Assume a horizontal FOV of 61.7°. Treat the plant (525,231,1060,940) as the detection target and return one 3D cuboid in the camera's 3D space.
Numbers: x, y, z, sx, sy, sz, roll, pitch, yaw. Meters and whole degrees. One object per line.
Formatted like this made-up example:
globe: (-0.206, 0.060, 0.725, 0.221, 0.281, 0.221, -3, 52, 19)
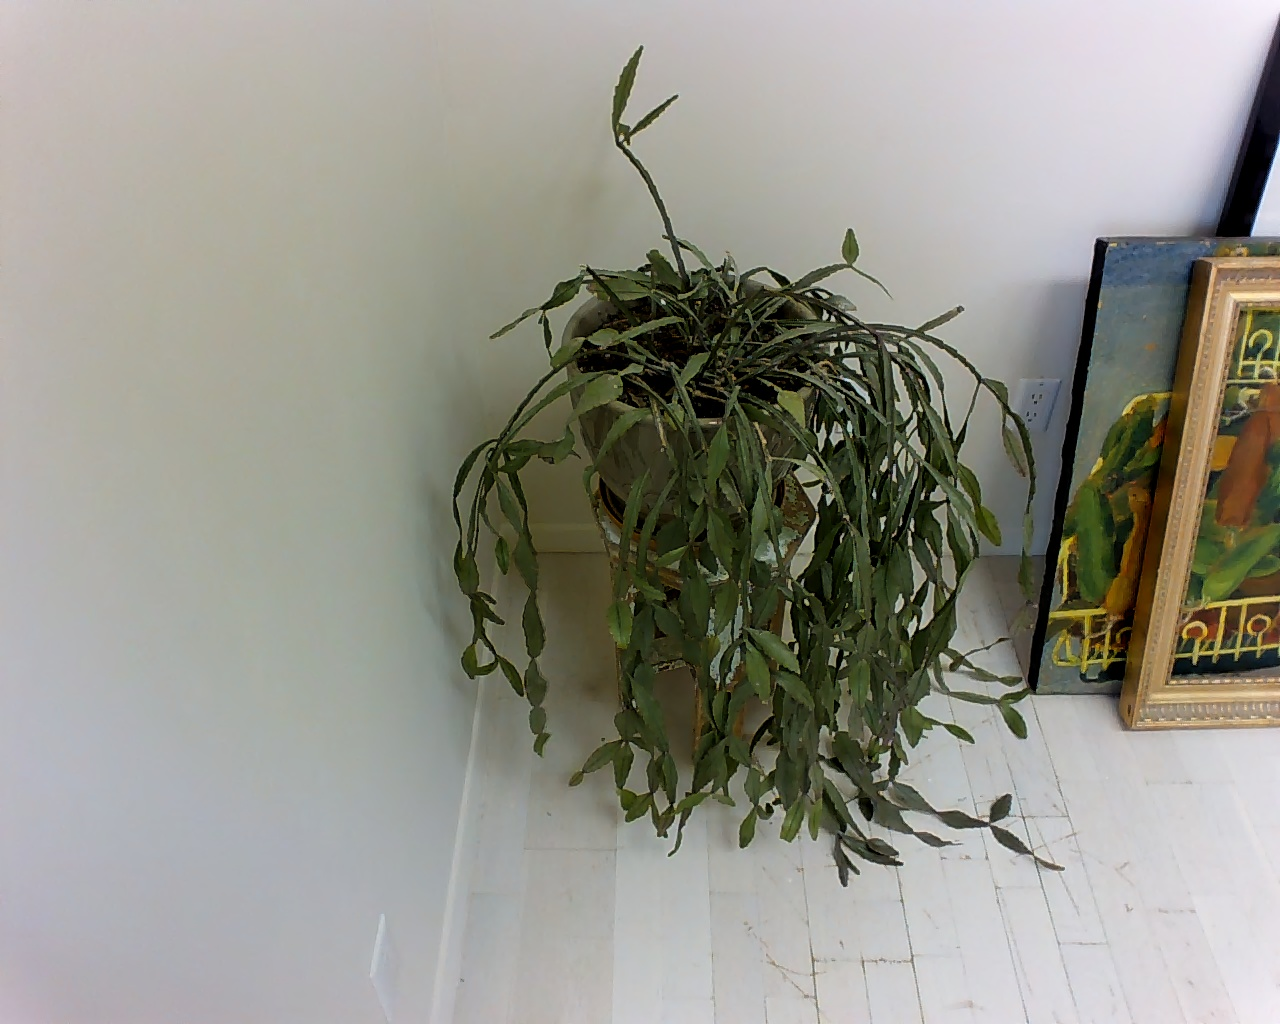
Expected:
plant: (0.210, 0.100, 1.500, 0.480, 0.710, 0.550, 16, 46, 17)
